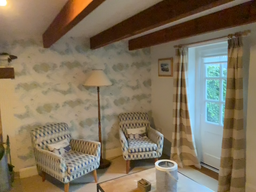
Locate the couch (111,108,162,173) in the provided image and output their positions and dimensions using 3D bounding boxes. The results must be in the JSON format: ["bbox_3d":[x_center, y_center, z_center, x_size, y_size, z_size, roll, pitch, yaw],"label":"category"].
[{"bbox_3d":[0.120,0.750,3.900,0.730,0.870,0.900,-3,6,-10],"label":"couch"}]

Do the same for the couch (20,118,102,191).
[{"bbox_3d":[-1.020,0.870,3.260,0.970,0.830,0.720,3,8,37],"label":"couch"}]
